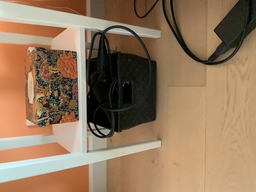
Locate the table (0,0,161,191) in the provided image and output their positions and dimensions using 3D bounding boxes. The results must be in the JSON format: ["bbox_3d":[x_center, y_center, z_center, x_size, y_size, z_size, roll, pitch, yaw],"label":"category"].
[{"bbox_3d":[-0.290,-0.020,0.620,0.360,0.700,0.450,4,95,56],"label":"table"}]
